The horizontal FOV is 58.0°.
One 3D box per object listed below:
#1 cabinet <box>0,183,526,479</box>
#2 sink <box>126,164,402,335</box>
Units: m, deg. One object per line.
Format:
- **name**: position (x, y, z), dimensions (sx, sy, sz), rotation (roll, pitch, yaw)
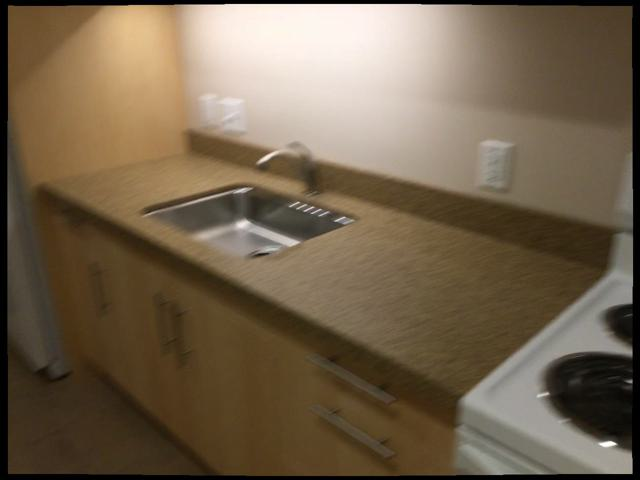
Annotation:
- **cabinet**: position (-0.359, 0.421, 1.670), dimensions (1.818, 0.861, 0.170), rotation (17, 32, 38)
- **sink**: position (-0.170, -0.020, 1.790), dimensions (0.659, 0.200, 0.530), rotation (17, 32, 38)
